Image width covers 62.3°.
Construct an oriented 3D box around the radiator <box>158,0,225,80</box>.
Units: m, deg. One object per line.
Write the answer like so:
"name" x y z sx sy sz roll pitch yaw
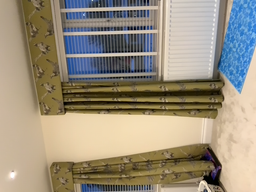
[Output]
"radiator" 0.710 -0.780 2.420 0.110 0.680 1.200 -91 0 -70
